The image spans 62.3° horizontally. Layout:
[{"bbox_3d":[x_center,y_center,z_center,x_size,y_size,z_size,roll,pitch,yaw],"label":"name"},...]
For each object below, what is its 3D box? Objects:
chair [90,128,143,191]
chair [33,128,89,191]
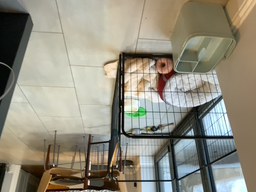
[{"bbox_3d":[-0.140,0.940,2.820,0.540,0.850,0.430,-11,149,16],"label":"chair"},{"bbox_3d":[-0.870,0.930,2.760,0.540,0.850,0.430,14,147,-25],"label":"chair"}]
